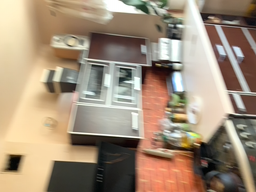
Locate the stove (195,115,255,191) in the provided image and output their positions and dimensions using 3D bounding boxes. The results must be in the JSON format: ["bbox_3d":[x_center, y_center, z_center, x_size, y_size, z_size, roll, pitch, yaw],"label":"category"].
[{"bbox_3d":[0.690,0.550,1.460,0.600,0.150,0.600,99,174,-51],"label":"stove"}]
